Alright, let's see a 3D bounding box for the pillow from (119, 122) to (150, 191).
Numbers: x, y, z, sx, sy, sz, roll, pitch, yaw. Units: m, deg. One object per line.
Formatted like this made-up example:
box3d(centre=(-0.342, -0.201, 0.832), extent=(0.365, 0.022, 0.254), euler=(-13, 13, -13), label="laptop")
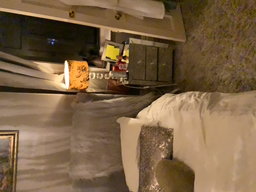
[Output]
box3d(centre=(0.050, 0.600, 1.930), extent=(0.160, 0.320, 0.690), euler=(1, 91, -20), label="pillow")
